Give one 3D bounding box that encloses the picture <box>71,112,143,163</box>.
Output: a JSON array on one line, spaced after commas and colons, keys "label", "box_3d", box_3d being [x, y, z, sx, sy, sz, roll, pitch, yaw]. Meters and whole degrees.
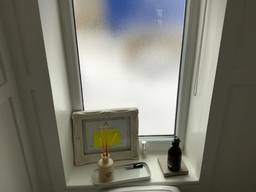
[{"label": "picture", "box_3d": [-0.110, 0.220, 1.060, 0.320, 0.300, 0.060, 2, 37, -7]}]
